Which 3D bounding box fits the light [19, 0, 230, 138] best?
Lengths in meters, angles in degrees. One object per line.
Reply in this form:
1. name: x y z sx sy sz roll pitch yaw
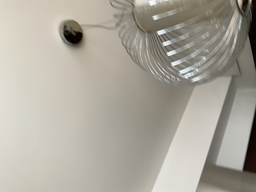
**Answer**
1. light: 0.010 -0.310 0.810 0.420 0.470 0.800 -2 -51 44
